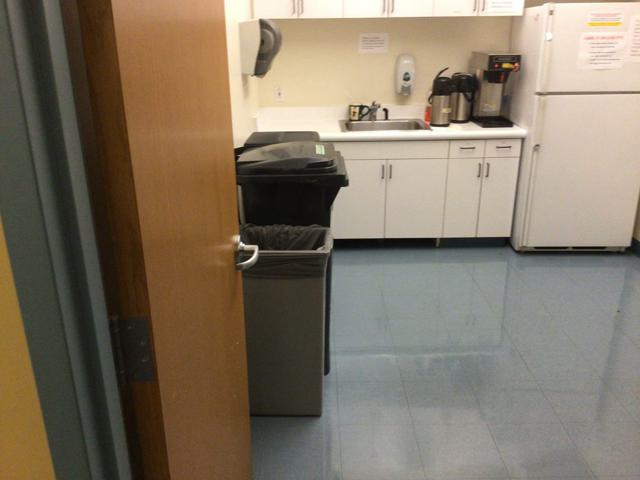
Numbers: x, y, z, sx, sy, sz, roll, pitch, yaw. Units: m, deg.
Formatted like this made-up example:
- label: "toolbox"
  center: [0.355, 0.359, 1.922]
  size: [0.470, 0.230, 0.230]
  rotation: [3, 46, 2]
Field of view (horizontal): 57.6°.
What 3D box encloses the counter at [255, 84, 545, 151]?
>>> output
- label: "counter"
  center: [0.510, -0.850, 3.990]
  size: [1.800, 0.260, 0.670]
  rotation: [-2, 21, 4]
